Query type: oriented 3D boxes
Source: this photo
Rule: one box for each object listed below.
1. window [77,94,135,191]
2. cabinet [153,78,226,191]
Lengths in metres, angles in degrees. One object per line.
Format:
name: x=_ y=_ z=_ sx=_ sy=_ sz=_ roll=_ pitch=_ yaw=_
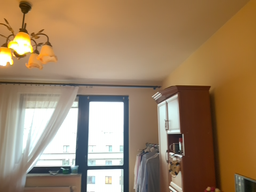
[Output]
window: x=-0.390 y=1.130 z=3.920 sx=1.030 sy=2.310 sz=0.150 roll=1 pitch=-10 yaw=-7
cabinet: x=0.610 y=0.650 z=2.390 sx=0.450 sy=1.490 sz=0.950 roll=1 pitch=-10 yaw=-5
